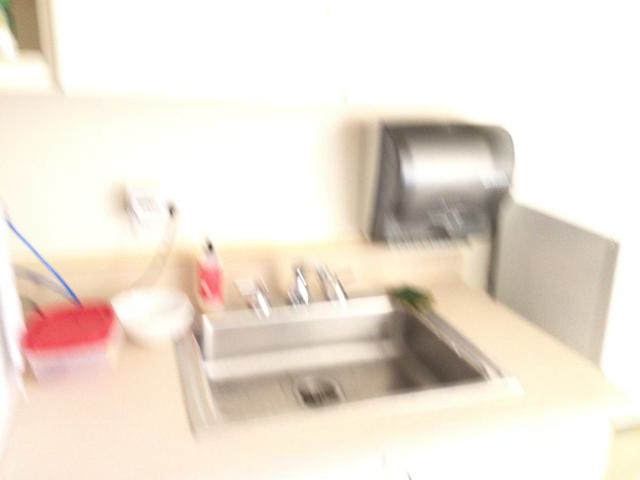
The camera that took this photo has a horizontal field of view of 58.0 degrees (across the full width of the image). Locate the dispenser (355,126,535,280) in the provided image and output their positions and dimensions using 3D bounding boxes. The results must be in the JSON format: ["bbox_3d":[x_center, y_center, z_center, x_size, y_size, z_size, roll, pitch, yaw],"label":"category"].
[{"bbox_3d":[0.300,-0.100,1.460,0.330,0.330,0.240,0,16,-17],"label":"dispenser"}]

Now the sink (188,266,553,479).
[{"bbox_3d":[0.050,0.270,1.290,0.630,0.250,0.560,0,16,-17],"label":"sink"}]

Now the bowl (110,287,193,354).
[{"bbox_3d":[-0.370,0.170,1.270,0.160,0.060,0.210,0,16,-17],"label":"bowl"}]
